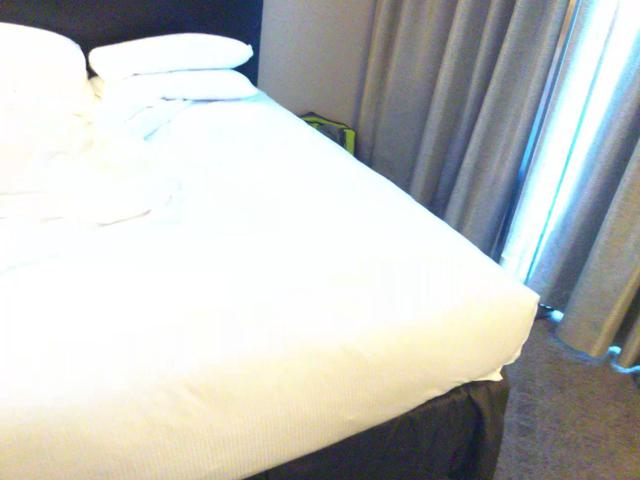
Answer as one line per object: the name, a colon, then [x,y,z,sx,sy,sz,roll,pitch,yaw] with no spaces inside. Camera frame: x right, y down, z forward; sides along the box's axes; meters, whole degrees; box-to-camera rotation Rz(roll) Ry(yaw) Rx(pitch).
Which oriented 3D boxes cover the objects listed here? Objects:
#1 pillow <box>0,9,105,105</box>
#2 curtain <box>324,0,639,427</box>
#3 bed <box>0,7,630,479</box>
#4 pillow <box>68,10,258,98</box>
pillow: [-1.160,-0.690,2.150,0.600,0.260,0.410,-8,31,-30]
curtain: [0.990,-0.470,2.090,0.360,1.710,2.820,-8,31,-30]
bed: [-0.580,-0.060,1.880,1.550,0.950,2.130,-8,31,-30]
pillow: [-0.660,-0.770,2.390,0.610,0.210,0.560,-8,31,-30]
